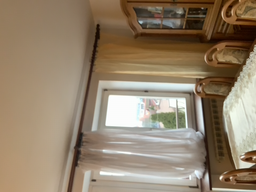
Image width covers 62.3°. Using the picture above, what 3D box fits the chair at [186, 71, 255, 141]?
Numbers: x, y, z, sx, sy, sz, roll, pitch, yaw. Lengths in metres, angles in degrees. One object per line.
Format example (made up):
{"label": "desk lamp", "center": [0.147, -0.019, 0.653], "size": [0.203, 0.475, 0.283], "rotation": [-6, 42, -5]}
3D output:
{"label": "chair", "center": [1.280, 0.120, 2.520], "size": [0.470, 1.010, 0.650], "rotation": [88, -175, -57]}
